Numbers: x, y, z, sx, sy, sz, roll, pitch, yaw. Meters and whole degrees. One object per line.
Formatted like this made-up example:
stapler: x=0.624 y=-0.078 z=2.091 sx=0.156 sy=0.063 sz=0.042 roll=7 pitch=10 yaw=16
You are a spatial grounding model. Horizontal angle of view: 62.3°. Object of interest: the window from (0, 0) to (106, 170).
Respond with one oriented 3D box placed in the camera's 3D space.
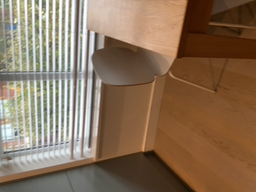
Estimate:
window: x=-0.910 y=-0.430 z=1.410 sx=0.090 sy=1.570 sz=2.170 roll=36 pitch=124 yaw=54
